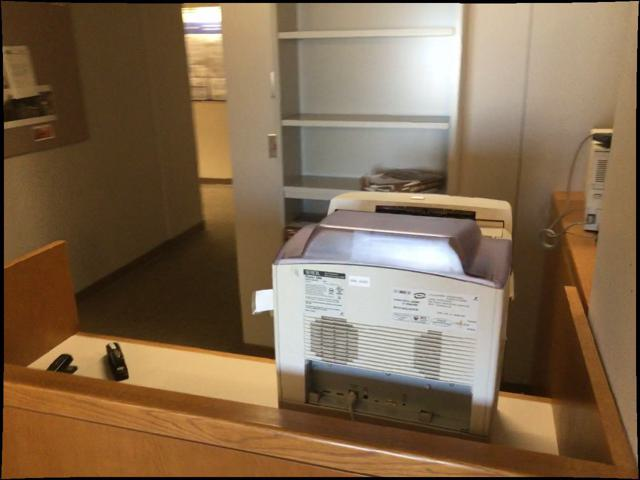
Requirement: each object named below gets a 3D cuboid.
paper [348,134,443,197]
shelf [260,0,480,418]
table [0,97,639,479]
[{"bbox_3d":[0.319,-0.321,2.410,0.230,0.110,0.340,21,39,40],"label":"paper"},{"bbox_3d":[0.209,-0.261,2.540,0.798,2.104,0.360,7,23,17],"label":"shelf"},{"bbox_3d":[-0.259,0.611,1.530,1.677,1.392,0.970,15,34,11],"label":"table"}]
